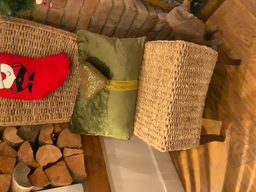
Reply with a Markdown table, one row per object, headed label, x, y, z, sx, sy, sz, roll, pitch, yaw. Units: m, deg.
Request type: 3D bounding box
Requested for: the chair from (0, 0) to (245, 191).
| label | x | y | z | sx | sy | sz | roll | pitch | yaw |
| --- | --- | --- | --- | --- | --- | --- | --- | --- | --- |
| chair | -0.040 | -0.050 | 1.070 | 0.600 | 1.070 | 0.560 | 20 | 104 | 54 |
